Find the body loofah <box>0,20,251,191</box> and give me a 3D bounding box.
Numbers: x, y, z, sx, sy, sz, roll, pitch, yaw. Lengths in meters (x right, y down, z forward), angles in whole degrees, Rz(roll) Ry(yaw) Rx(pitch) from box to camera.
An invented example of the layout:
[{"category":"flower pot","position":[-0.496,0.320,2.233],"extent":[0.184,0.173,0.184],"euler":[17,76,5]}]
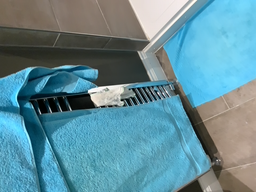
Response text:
[{"category":"body loofah","position":[-0.010,0.220,0.900],"extent":[0.230,1.180,1.010],"euler":[-35,71,45]}]
